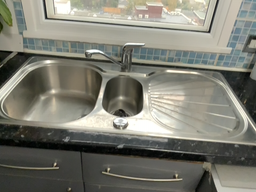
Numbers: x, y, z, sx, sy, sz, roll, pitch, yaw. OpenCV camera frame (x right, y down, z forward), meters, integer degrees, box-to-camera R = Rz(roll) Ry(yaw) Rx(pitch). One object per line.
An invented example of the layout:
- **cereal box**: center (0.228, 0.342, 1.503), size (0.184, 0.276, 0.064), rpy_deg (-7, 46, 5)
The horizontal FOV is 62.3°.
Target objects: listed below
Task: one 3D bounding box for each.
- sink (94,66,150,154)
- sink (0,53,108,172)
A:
- **sink**: center (-0.020, 0.040, 0.930), size (0.190, 0.190, 0.360), rpy_deg (5, 34, 0)
- **sink**: center (-0.310, 0.030, 0.920), size (0.380, 0.210, 0.510), rpy_deg (5, 34, 0)
